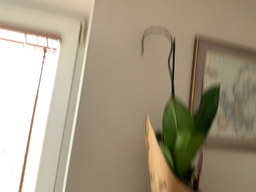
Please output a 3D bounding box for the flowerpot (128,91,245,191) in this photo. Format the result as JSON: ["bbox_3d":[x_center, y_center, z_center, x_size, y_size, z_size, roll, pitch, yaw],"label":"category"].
[{"bbox_3d":[0.140,0.210,0.580,0.210,0.400,0.210,9,-7,-14],"label":"flowerpot"}]
